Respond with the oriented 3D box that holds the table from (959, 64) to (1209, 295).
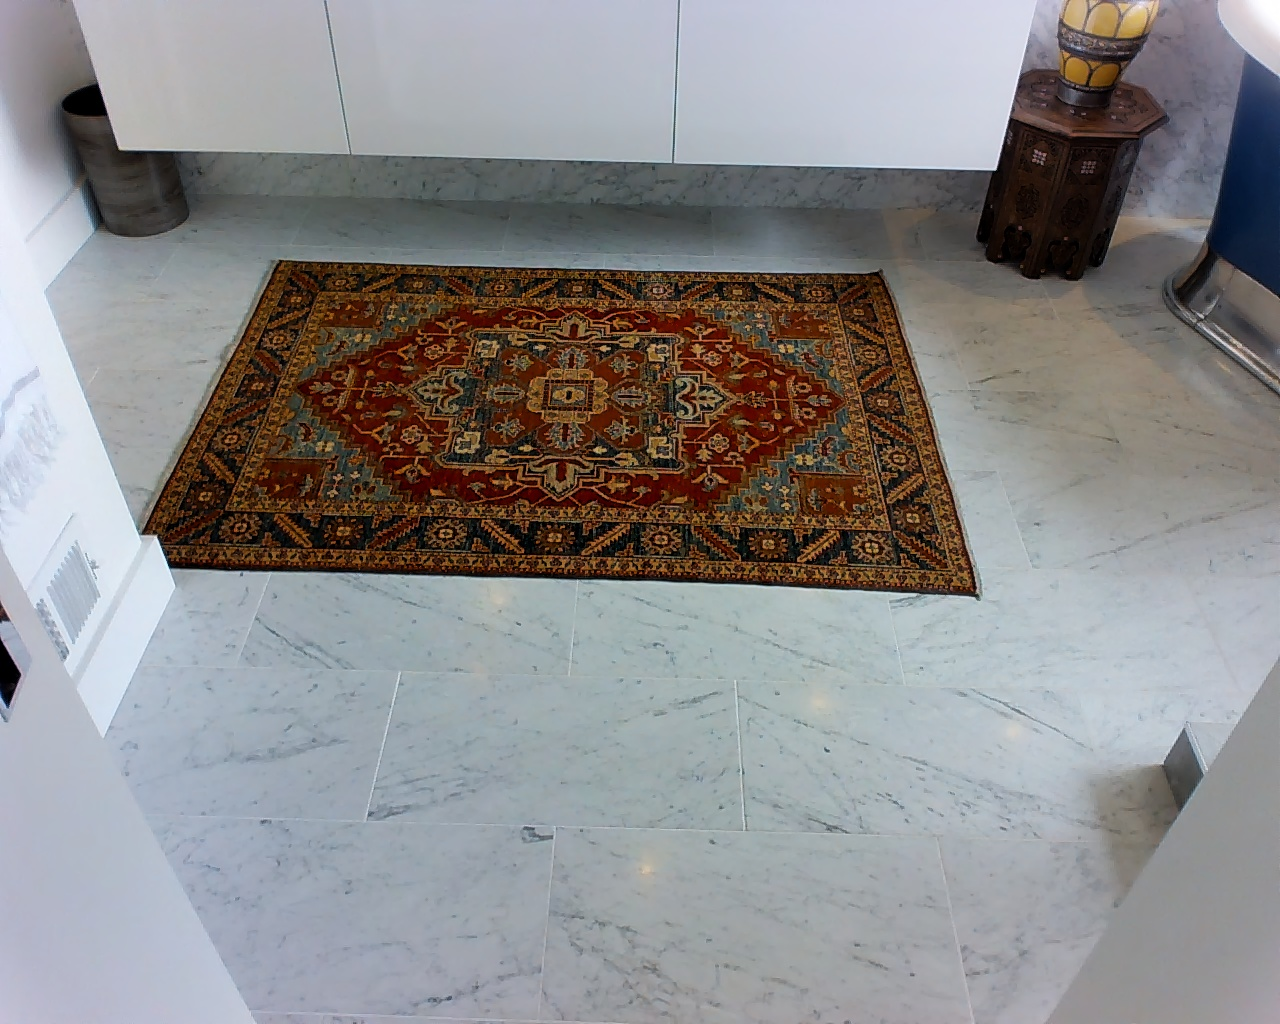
[{"bbox_3d":[1.200,-0.930,3.000,0.440,0.460,0.440,2,42,1],"label":"table"}]
